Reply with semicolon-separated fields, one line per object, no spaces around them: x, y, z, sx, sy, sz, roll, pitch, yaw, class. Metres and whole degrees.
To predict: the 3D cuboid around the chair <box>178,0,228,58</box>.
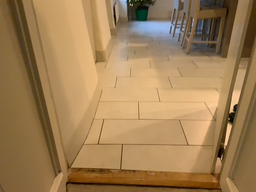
1.100;-1.130;3.220;0.500;0.970;0.470;0;29;1;chair
